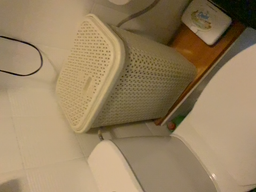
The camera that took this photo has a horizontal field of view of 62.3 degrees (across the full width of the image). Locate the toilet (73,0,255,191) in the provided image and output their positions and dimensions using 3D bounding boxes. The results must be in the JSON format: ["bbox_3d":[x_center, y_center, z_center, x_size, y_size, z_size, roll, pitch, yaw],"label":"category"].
[{"bbox_3d":[0.370,0.100,0.720,0.690,0.820,0.370,-56,52,31],"label":"toilet"}]

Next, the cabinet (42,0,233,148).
[{"bbox_3d":[0.070,-0.080,0.980,0.360,0.730,0.380,54,126,33],"label":"cabinet"}]
